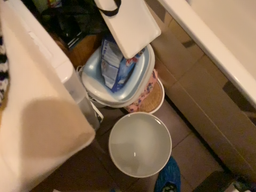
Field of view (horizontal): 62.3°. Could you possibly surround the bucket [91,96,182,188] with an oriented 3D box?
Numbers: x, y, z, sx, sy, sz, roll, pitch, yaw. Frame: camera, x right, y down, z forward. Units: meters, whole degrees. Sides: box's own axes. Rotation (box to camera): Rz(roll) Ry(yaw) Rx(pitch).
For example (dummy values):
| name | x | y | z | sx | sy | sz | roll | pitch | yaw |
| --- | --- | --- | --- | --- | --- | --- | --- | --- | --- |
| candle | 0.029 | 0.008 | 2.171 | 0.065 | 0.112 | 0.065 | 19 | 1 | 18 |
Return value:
| name | x | y | z | sx | sy | sz | roll | pitch | yaw |
| --- | --- | --- | --- | --- | --- | --- | --- | --- | --- |
| bucket | 0.030 | 0.220 | 1.050 | 0.310 | 0.230 | 0.260 | -39 | 83 | -12 |
